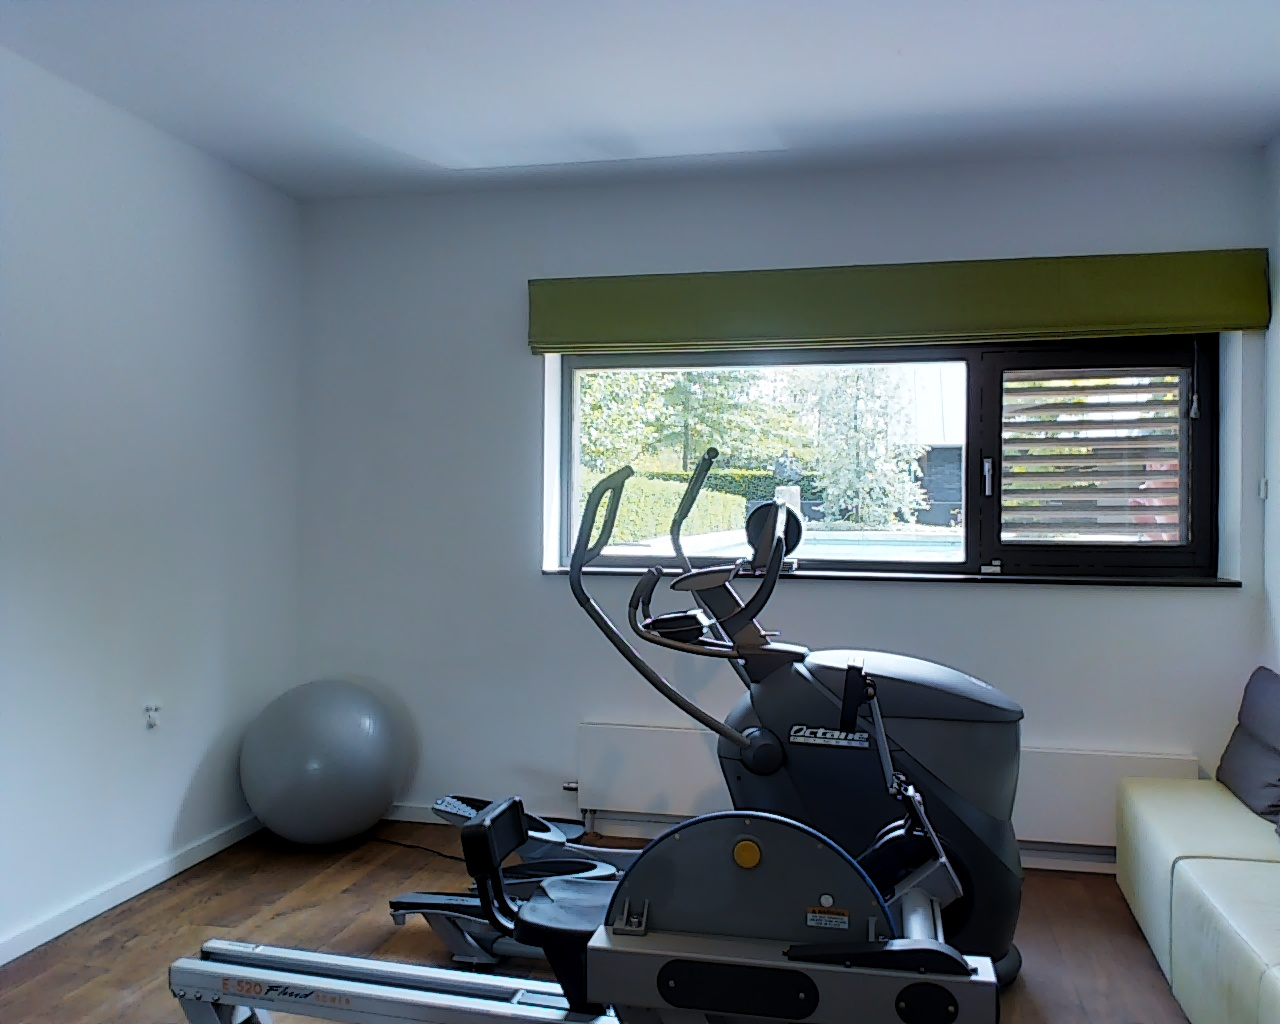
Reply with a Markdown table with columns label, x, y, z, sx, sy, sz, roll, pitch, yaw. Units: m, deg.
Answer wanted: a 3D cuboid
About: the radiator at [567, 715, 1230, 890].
| label | x | y | z | sx | sy | sz | roll | pitch | yaw |
| --- | --- | --- | --- | --- | --- | --- | --- | --- | --- |
| radiator | 0.950 | 1.140 | 4.330 | 2.560 | 0.490 | 0.110 | 1 | 0 | 13 |
